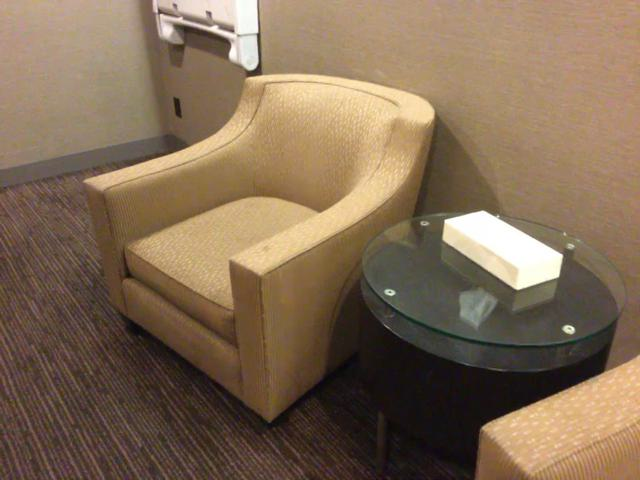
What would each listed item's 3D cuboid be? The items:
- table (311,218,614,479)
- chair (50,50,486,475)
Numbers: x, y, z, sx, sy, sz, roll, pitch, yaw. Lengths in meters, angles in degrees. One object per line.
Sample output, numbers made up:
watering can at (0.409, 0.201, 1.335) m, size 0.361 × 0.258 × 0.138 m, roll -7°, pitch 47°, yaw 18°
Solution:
table at (0.300, 0.270, 1.420) m, size 0.360 × 0.390 × 0.580 m, roll -19°, pitch 34°, yaw -33°
chair at (-0.140, -0.060, 1.960) m, size 0.880 × 0.900 × 0.980 m, roll 24°, pitch 35°, yaw 35°
